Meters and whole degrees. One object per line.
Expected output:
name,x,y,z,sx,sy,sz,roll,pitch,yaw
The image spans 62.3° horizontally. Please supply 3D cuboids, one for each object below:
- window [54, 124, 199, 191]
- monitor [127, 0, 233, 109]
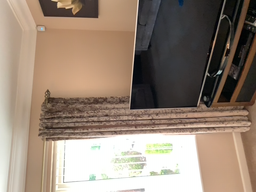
window,0.050,1.570,2.050,0.170,1.480,2.530,118,150,-70
monitor,0.440,-0.450,1.920,0.060,0.810,1.280,-107,19,-59
